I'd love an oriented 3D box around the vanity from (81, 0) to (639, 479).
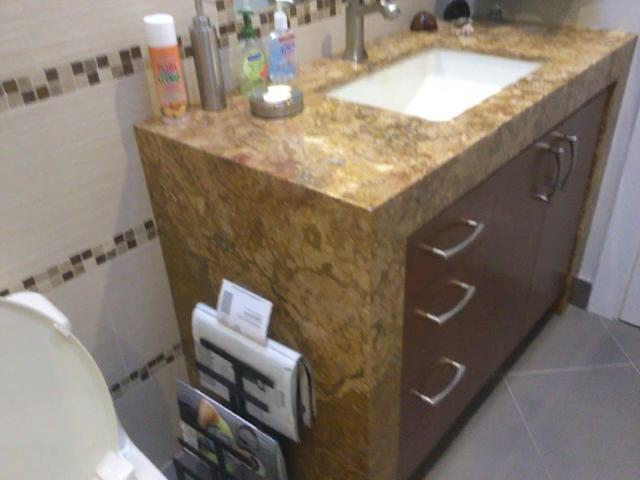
[{"bbox_3d":[0.250,-0.050,1.460,0.660,1.060,1.200,21,39,34],"label":"vanity"}]
